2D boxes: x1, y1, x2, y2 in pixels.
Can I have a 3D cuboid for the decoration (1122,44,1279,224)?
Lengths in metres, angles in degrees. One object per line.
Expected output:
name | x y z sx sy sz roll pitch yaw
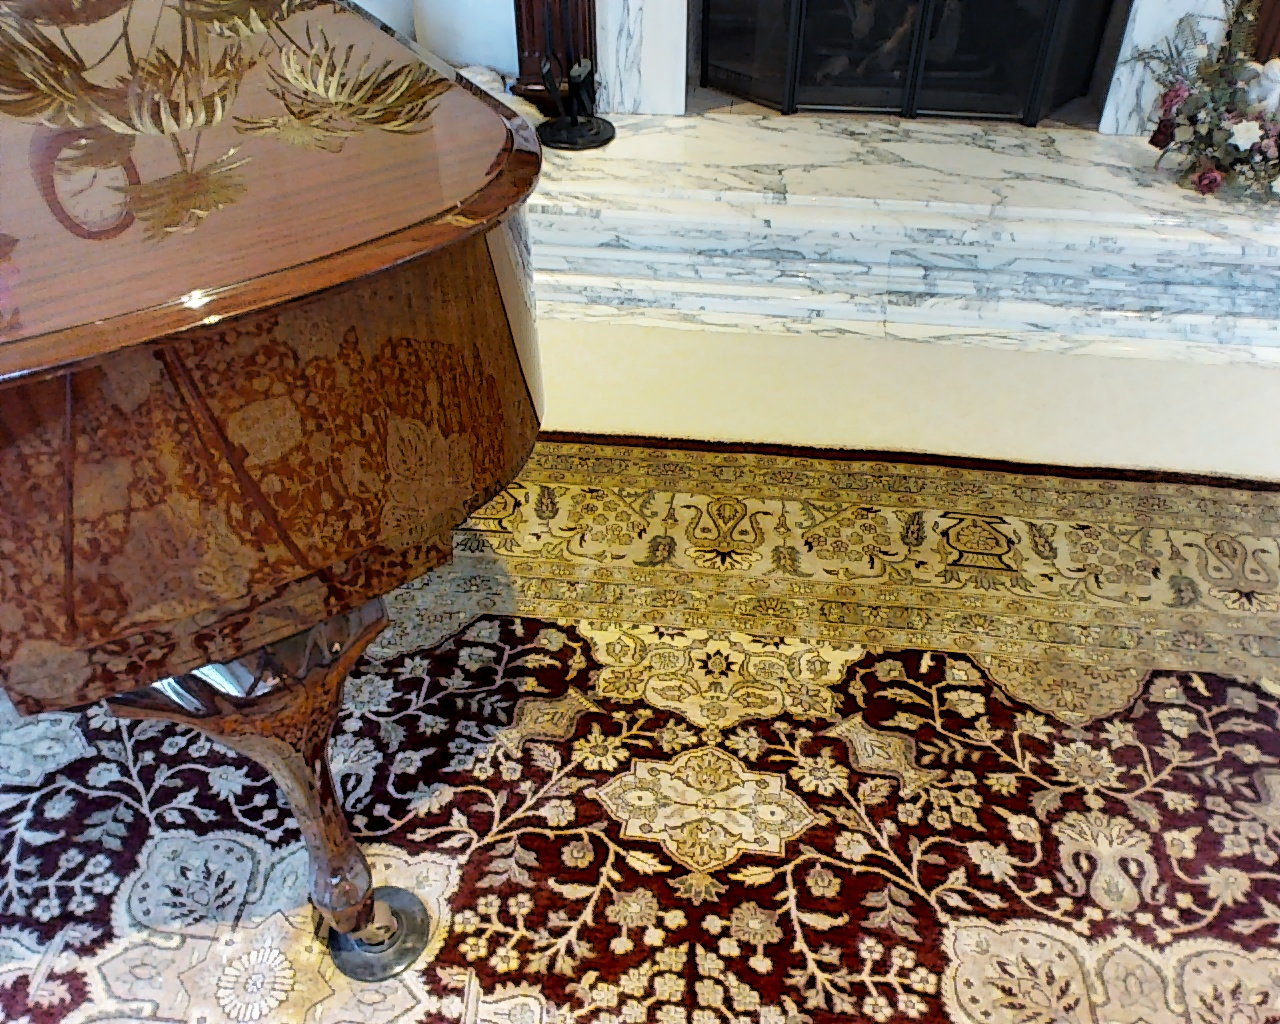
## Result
decoration | 1.500 -0.930 2.620 0.450 0.280 0.390 5 42 5
